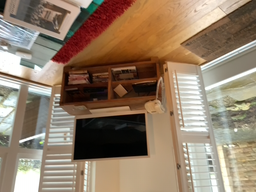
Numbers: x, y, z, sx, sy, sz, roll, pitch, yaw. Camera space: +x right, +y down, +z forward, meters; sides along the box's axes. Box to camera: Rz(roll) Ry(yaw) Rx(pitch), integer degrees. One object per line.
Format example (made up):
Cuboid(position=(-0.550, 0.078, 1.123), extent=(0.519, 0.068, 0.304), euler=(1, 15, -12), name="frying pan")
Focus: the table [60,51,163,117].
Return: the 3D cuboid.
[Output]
Cuboid(position=(-0.140, -0.100, 2.330), extent=(1.000, 0.450, 0.530), euler=(-5, 158, 7), name="table")
